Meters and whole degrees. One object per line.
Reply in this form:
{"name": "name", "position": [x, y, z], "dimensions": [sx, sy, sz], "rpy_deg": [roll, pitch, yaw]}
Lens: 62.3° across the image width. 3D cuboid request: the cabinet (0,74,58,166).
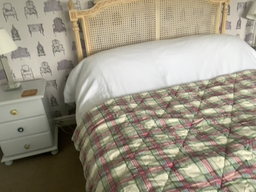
{"name": "cabinet", "position": [-0.920, 0.190, 1.910], "dimensions": [0.450, 0.580, 0.480], "rpy_deg": [-11, 27, -13]}
